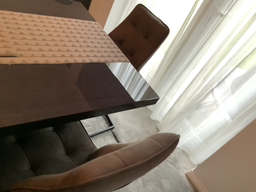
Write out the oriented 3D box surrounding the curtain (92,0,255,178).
[{"bbox_3d":[0.570,-0.720,1.630,0.200,1.960,1.940,-10,53,-42],"label":"curtain"}]
